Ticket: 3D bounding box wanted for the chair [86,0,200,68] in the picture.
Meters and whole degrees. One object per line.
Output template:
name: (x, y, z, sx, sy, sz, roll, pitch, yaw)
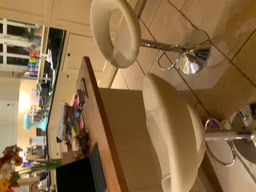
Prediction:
chair: (0.120, -0.470, 1.760, 0.410, 0.820, 0.360, 11, 97, 62)
